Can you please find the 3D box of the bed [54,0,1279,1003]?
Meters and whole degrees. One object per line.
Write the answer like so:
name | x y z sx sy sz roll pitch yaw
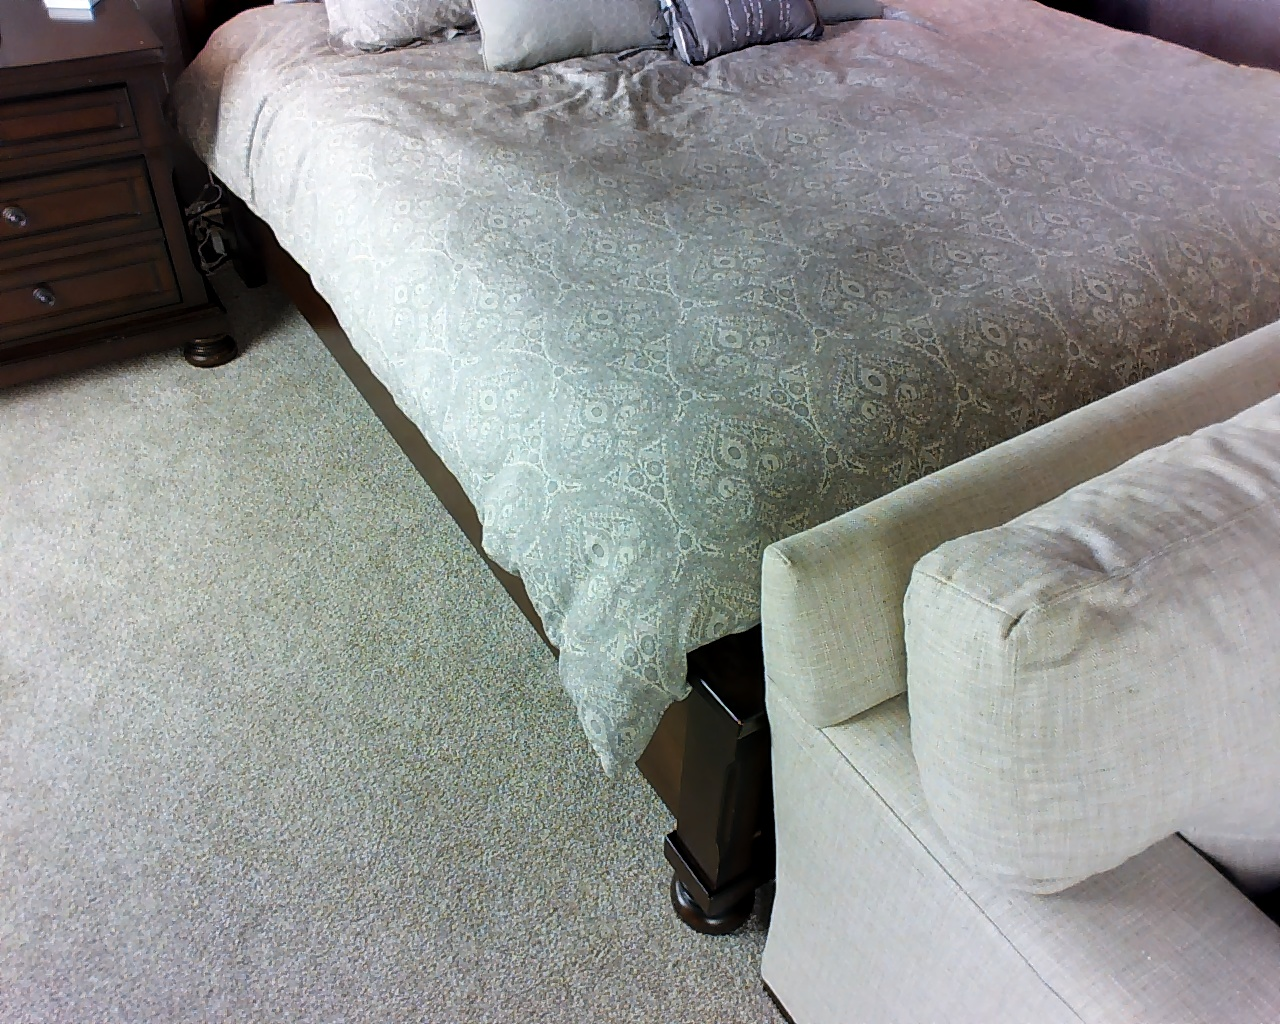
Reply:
bed | 0.280 -0.720 2.450 2.380 0.780 2.420 -22 47 -25

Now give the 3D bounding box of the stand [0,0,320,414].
stand | -1.350 -0.760 2.440 0.930 0.740 0.610 -22 47 -25
